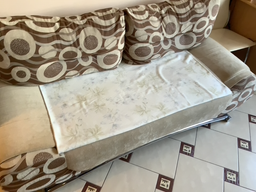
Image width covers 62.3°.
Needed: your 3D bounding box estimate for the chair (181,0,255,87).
[{"bbox_3d":[0.980,-0.670,2.180,0.380,0.960,0.540,-16,48,-22],"label":"chair"}]
